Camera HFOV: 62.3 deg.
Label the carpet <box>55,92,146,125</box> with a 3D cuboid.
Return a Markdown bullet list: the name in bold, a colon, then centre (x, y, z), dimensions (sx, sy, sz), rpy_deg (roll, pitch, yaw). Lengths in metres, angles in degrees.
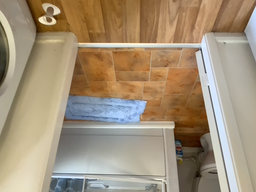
- **carpet**: centre (-0.260, 0.140, 2.040), dimensions (0.790, 0.050, 0.440), rpy_deg (6, 149, -6)

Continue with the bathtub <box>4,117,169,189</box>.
- **bathtub**: centre (-0.370, 0.660, 2.370), dimensions (1.510, 0.570, 0.710), rpy_deg (1, 149, 2)

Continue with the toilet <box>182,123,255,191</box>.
- **toilet**: centre (0.940, 0.830, 2.290), dimensions (0.480, 0.860, 0.650), rpy_deg (2, 149, 1)
